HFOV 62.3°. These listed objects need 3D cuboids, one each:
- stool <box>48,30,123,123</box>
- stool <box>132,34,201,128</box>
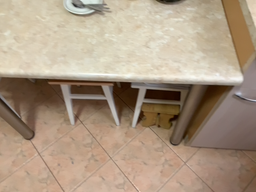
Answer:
[{"bbox_3d":[-0.200,-0.090,1.220,0.300,0.450,0.310,3,59,2],"label":"stool"},{"bbox_3d":[0.180,-0.060,1.200,0.300,0.460,0.310,3,59,2],"label":"stool"}]
